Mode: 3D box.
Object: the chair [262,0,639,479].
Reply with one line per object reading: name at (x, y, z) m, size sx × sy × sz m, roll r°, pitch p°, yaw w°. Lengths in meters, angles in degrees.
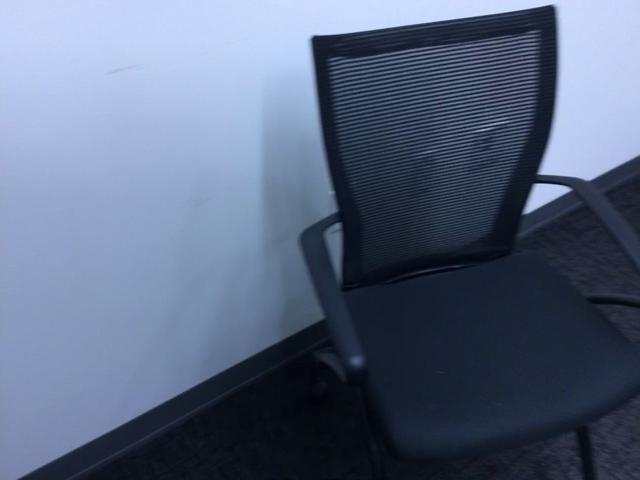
chair at (0.280, 0.090, 1.080) m, size 0.570 × 0.890 × 0.590 m, roll -12°, pitch 38°, yaw -8°
